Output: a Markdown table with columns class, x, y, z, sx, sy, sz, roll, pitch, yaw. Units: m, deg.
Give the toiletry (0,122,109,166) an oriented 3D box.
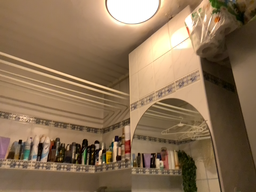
| class | x | y | z | sx | sy | sz | roll | pitch | yaw |
| --- | --- | --- | --- | --- | --- | --- | --- | --- | --- |
| toiletry | -0.650 | 0.380 | 1.610 | 1.190 | 0.200 | 0.150 | 22 | -33 | -40 |
